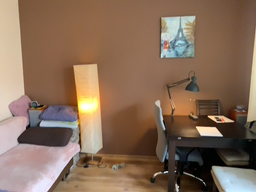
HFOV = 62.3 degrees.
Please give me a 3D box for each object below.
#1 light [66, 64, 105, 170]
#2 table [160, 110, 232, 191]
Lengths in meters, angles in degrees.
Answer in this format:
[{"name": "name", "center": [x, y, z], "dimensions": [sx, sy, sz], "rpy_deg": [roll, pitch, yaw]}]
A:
[{"name": "light", "center": [-0.610, 0.290, 3.140], "dimensions": [0.440, 1.520, 0.330], "rpy_deg": [1, 9, 8]}, {"name": "table", "center": [0.740, 0.680, 2.650], "dimensions": [0.630, 0.760, 1.060], "rpy_deg": [1, 9, 6]}]
